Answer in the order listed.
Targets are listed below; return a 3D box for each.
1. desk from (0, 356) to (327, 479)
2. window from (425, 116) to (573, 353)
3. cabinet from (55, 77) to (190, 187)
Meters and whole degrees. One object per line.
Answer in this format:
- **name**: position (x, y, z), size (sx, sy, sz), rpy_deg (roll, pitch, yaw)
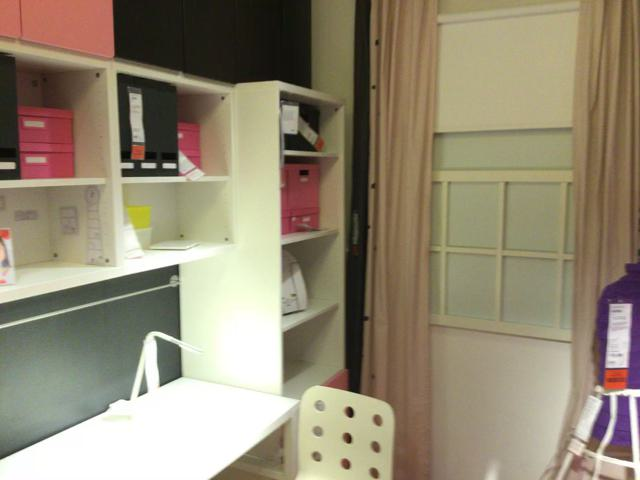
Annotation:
- **desk**: position (-0.510, 0.940, 2.000), size (0.640, 0.770, 1.050), rpy_deg (0, 4, 29)
- **window**: position (0.750, -0.020, 2.450), size (0.580, 0.930, 0.100), rpy_deg (0, 4, 29)
- **cabinet**: position (-0.650, -0.340, 1.920), size (0.300, 0.310, 0.280), rpy_deg (0, 4, 29)
